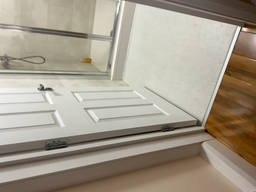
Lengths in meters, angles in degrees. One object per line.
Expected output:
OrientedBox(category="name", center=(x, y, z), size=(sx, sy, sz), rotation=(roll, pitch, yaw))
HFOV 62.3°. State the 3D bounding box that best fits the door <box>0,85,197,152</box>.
OrientedBox(category="door", center=(-0.510, 0.080, 1.400), size=(0.780, 1.960, 0.020), rotation=(38, 124, 52))
